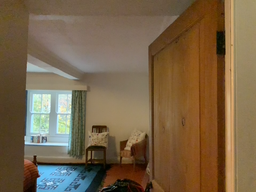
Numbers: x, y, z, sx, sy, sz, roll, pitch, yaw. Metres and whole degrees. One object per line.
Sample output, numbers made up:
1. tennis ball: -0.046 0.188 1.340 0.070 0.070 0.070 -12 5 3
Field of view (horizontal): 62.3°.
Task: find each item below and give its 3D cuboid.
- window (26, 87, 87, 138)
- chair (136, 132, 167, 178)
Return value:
1. window: -1.860 0.420 5.560 1.490 1.280 0.210 1 -3 -1
2. chair: 0.460 1.180 4.410 0.570 0.770 0.710 1 -3 2
